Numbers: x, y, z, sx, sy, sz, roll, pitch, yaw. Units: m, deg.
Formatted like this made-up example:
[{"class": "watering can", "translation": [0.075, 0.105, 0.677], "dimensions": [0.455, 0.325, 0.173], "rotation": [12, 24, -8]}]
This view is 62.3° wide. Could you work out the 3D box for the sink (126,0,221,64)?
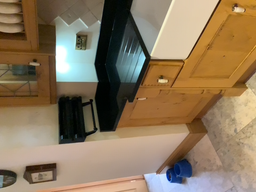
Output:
[{"class": "sink", "translation": [0.200, -0.490, 1.180], "dimensions": [0.380, 0.230, 0.500], "rotation": [110, 151, -45]}]
